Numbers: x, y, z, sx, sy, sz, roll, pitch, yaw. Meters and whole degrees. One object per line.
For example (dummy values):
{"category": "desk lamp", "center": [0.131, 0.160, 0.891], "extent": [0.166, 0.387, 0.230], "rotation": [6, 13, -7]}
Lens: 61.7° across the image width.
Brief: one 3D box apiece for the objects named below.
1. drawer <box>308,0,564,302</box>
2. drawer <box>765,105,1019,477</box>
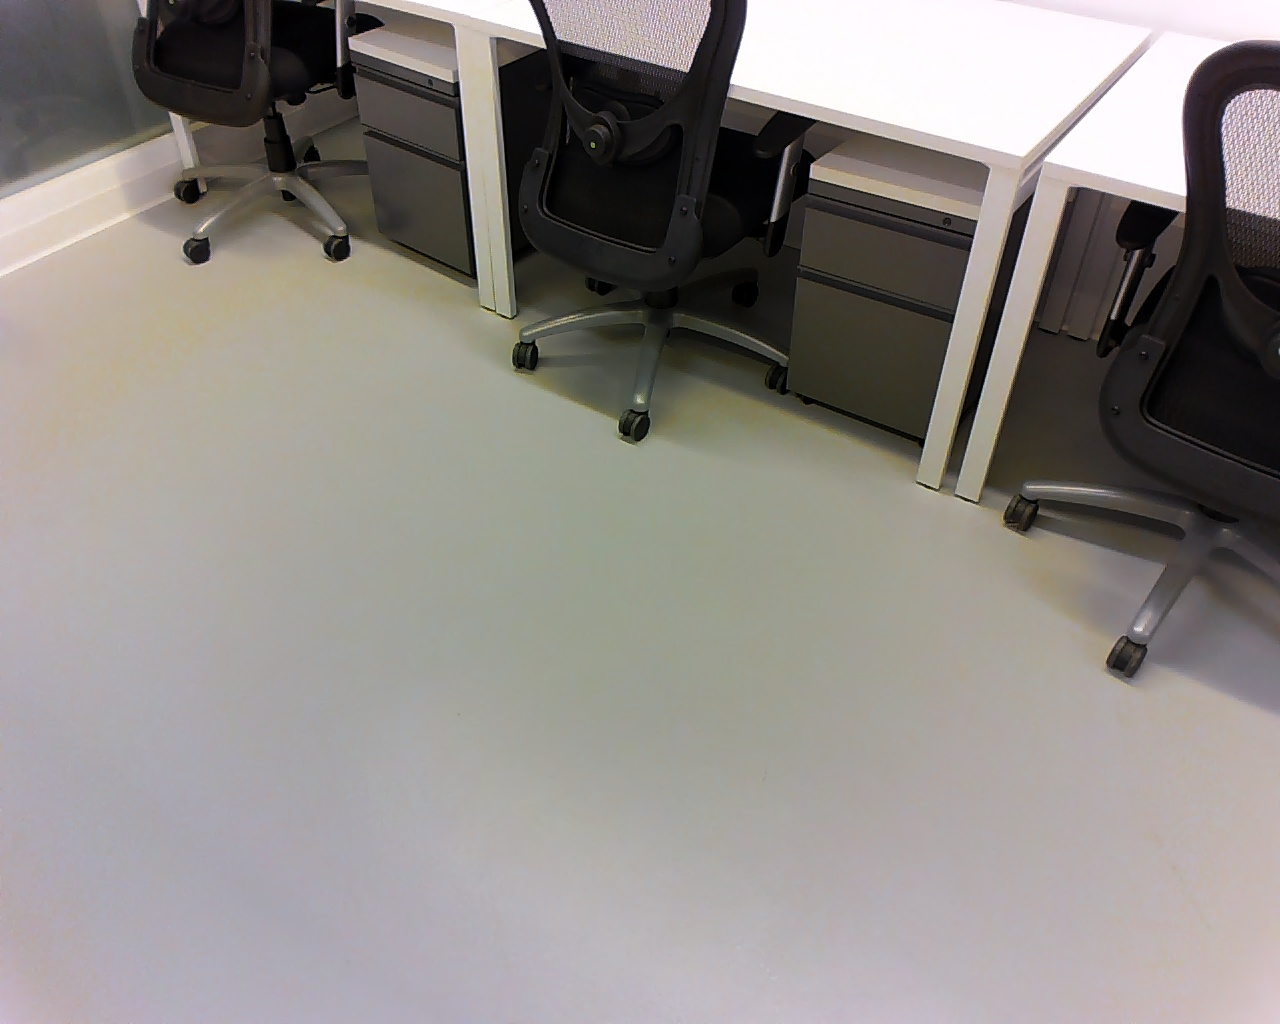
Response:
{"category": "drawer", "center": [-0.510, -0.960, 2.800], "extent": [0.510, 0.610, 0.320], "rotation": [25, 47, 25]}
{"category": "drawer", "center": [0.500, -0.450, 2.230], "extent": [0.340, 0.640, 0.260], "rotation": [25, 47, 25]}
